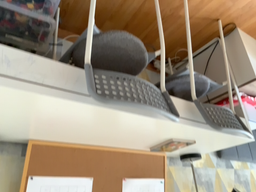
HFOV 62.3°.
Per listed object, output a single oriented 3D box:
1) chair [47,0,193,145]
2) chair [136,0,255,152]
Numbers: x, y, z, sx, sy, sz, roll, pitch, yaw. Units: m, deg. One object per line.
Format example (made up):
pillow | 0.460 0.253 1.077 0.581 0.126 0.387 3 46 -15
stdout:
chair | -0.070 -0.230 0.990 0.390 0.780 0.430 15 148 -32
chair | 0.340 -0.120 1.260 0.360 0.790 0.410 15 148 -32
